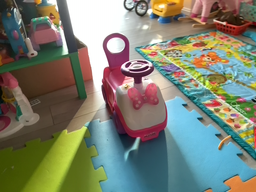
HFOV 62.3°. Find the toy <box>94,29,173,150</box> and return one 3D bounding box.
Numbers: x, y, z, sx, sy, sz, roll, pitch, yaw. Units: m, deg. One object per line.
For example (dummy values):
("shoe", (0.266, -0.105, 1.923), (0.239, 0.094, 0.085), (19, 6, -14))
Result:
("toy", (0.000, -0.070, 1.090), (0.210, 0.370, 0.530), (-13, 36, -12))
